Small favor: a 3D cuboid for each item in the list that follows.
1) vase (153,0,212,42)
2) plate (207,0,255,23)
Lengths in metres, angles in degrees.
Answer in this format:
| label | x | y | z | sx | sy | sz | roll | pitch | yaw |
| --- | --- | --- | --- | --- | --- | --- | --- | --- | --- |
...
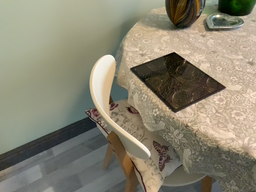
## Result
| label | x | y | z | sx | sy | sz | roll | pitch | yaw |
| --- | --- | --- | --- | --- | --- | --- | --- | --- | --- |
| vase | 0.250 | -0.450 | 0.990 | 0.170 | 0.290 | 0.210 | -20 | 45 | -17 |
| plate | 0.600 | -0.530 | 1.130 | 0.190 | 0.150 | 0.250 | -20 | 45 | -17 |
